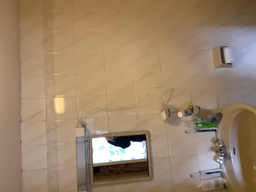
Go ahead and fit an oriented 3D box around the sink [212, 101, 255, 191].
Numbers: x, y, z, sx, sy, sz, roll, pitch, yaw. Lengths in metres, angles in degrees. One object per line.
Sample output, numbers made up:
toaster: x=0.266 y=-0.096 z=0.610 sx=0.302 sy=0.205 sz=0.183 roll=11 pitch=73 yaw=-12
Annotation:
sink: x=0.740 y=0.350 z=1.310 sx=0.460 sy=0.140 sz=0.600 roll=137 pitch=130 yaw=-79
